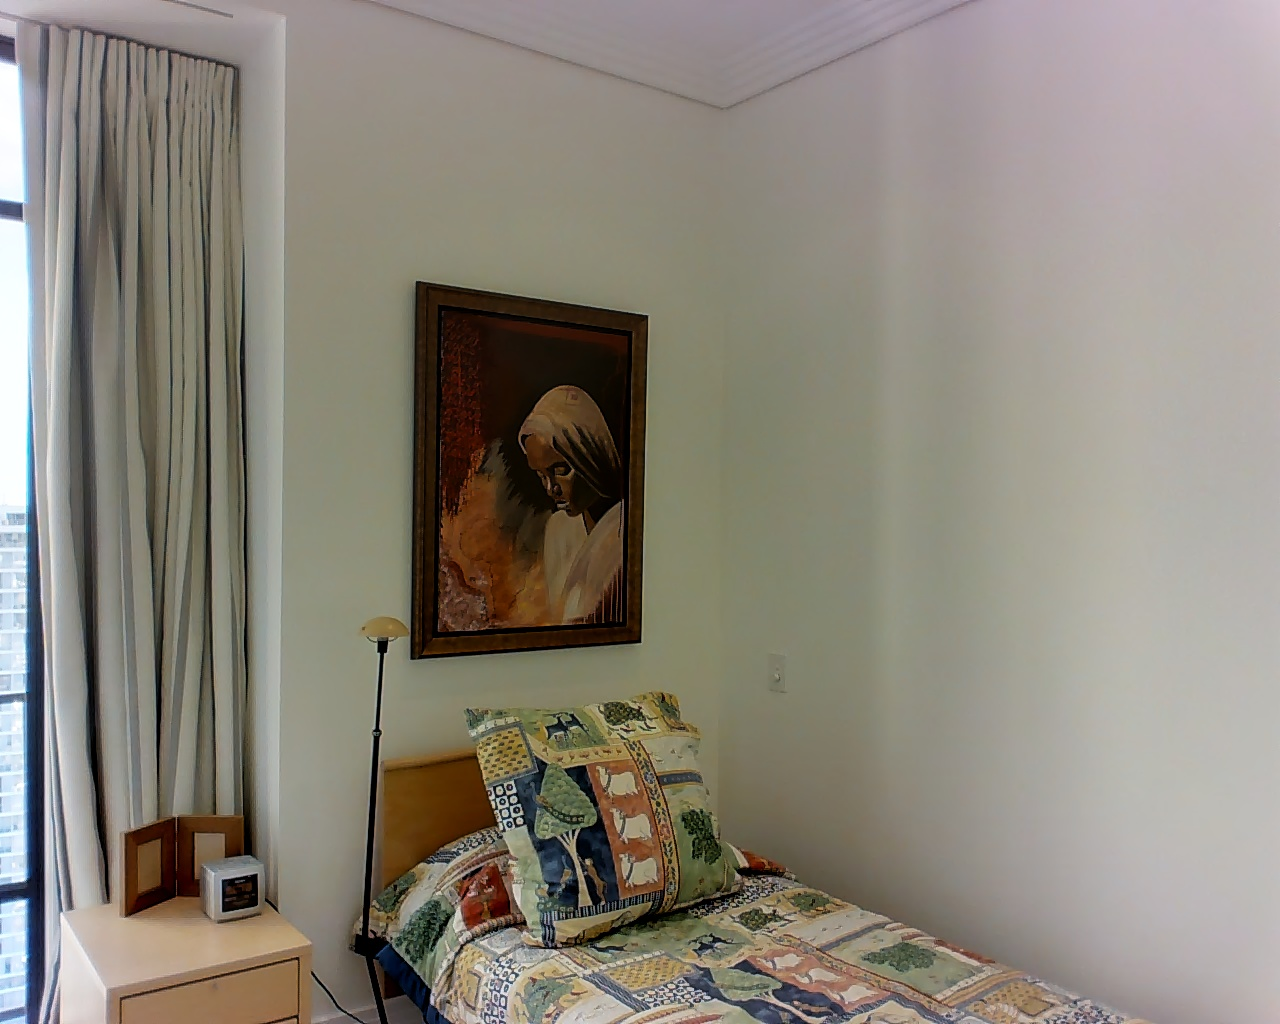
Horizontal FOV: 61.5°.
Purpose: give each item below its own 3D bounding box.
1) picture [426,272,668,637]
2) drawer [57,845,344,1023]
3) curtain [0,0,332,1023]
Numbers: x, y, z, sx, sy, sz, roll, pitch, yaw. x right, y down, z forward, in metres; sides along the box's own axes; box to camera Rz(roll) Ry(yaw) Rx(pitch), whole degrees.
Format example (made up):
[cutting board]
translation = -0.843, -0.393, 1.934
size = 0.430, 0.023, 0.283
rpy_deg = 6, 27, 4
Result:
[picture]
translation = -0.240, -0.140, 3.010
size = 0.720, 0.940, 0.060
rpy_deg = 2, 0, -36
[drawer]
translation = -1.000, 1.100, 2.410
size = 0.470, 0.470, 0.580
rpy_deg = 0, 1, -36
[curtain]
translation = -1.260, -0.020, 2.760
size = 0.560, 2.521, 0.380
rpy_deg = 7, -3, -36
